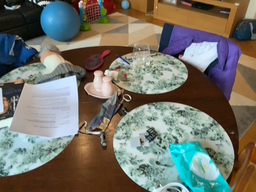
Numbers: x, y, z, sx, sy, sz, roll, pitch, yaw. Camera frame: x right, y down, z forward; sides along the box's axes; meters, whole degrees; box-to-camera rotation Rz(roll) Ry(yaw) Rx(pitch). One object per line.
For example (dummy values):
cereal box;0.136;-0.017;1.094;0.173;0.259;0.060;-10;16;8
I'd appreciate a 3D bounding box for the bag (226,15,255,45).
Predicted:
bag;1.680;-0.950;3.020;0.430;0.240;0.270;-26;45;-28
